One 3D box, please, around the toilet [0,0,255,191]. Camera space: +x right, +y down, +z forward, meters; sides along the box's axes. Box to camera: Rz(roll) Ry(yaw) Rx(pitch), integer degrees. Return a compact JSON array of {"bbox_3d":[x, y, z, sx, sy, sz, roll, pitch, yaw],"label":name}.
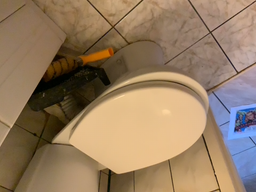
[{"bbox_3d":[-0.050,0.130,0.800,0.690,0.760,0.370,-34,123,26],"label":"toilet"}]
